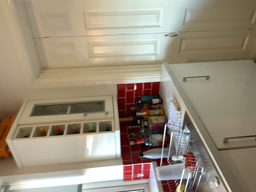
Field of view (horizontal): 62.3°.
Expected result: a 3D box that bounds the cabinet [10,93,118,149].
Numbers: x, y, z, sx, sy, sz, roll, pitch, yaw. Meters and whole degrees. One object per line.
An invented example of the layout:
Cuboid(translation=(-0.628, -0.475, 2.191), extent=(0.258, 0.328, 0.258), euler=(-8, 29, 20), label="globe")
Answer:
Cuboid(translation=(-0.500, 0.210, 1.830), extent=(0.290, 0.800, 0.320), euler=(-101, 10, -54), label="cabinet")
